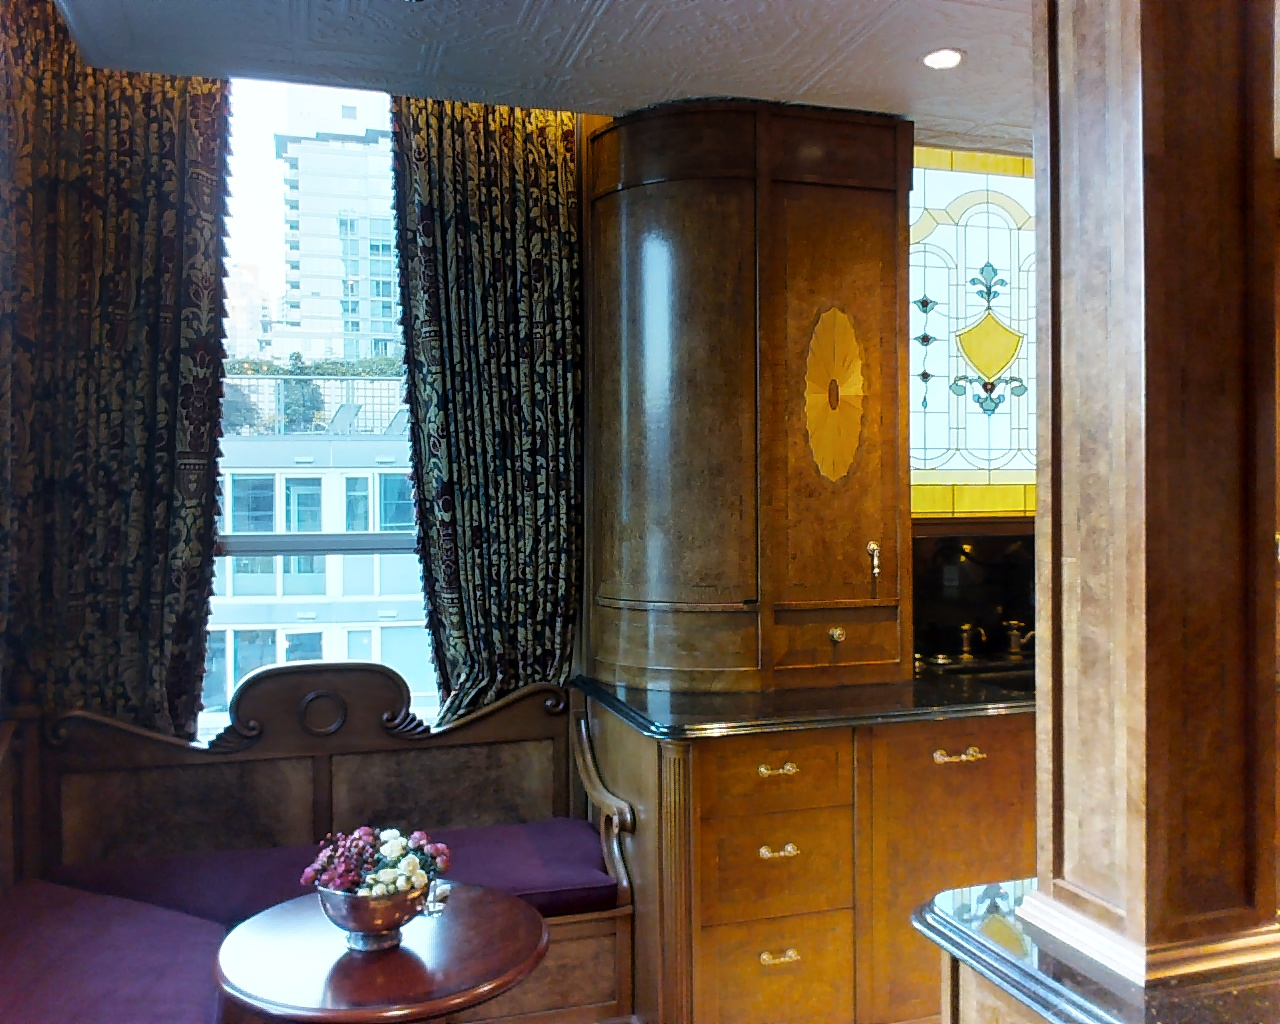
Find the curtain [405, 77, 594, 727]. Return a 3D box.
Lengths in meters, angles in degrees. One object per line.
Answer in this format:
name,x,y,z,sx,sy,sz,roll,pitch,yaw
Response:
curtain,-0.380,-0.290,2.940,0.500,1.710,0.070,0,1,-17

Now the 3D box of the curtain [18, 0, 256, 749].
curtain,-1.230,-0.340,2.660,0.510,1.800,0.100,0,1,-17

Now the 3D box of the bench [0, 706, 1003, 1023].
bench,-0.590,0.990,1.940,1.490,0.830,2.010,0,1,-17

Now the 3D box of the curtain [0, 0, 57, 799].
curtain,-1.400,-0.330,2.360,0.070,1.830,0.610,0,1,-17

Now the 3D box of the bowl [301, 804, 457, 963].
bowl,-0.470,0.670,1.970,0.260,0.190,0.240,0,1,-11
